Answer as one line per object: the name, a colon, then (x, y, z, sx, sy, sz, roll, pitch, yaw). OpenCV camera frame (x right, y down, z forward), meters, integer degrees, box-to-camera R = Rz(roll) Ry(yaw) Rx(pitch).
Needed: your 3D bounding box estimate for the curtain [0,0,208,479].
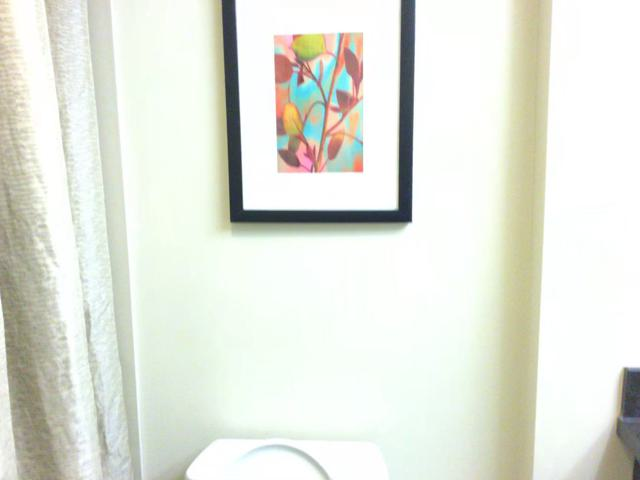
curtain: (-0.510, 0.320, 1.050, 0.380, 1.880, 0.710, -1, 8, 6)
